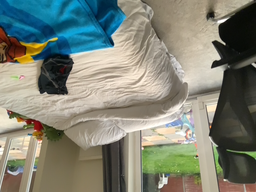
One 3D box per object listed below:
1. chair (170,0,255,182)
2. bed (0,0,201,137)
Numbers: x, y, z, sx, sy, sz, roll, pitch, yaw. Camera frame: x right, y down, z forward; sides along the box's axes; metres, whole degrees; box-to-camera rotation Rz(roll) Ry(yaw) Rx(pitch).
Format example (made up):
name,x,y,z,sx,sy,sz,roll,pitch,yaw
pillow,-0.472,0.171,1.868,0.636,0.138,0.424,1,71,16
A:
name,x,y,z,sx,sy,sz,roll,pitch,yaw
chair,0.830,-0.180,1.100,0.820,1.120,0.790,12,152,-23
bed,-0.510,-0.210,1.820,1.690,0.470,2.070,-13,151,27
